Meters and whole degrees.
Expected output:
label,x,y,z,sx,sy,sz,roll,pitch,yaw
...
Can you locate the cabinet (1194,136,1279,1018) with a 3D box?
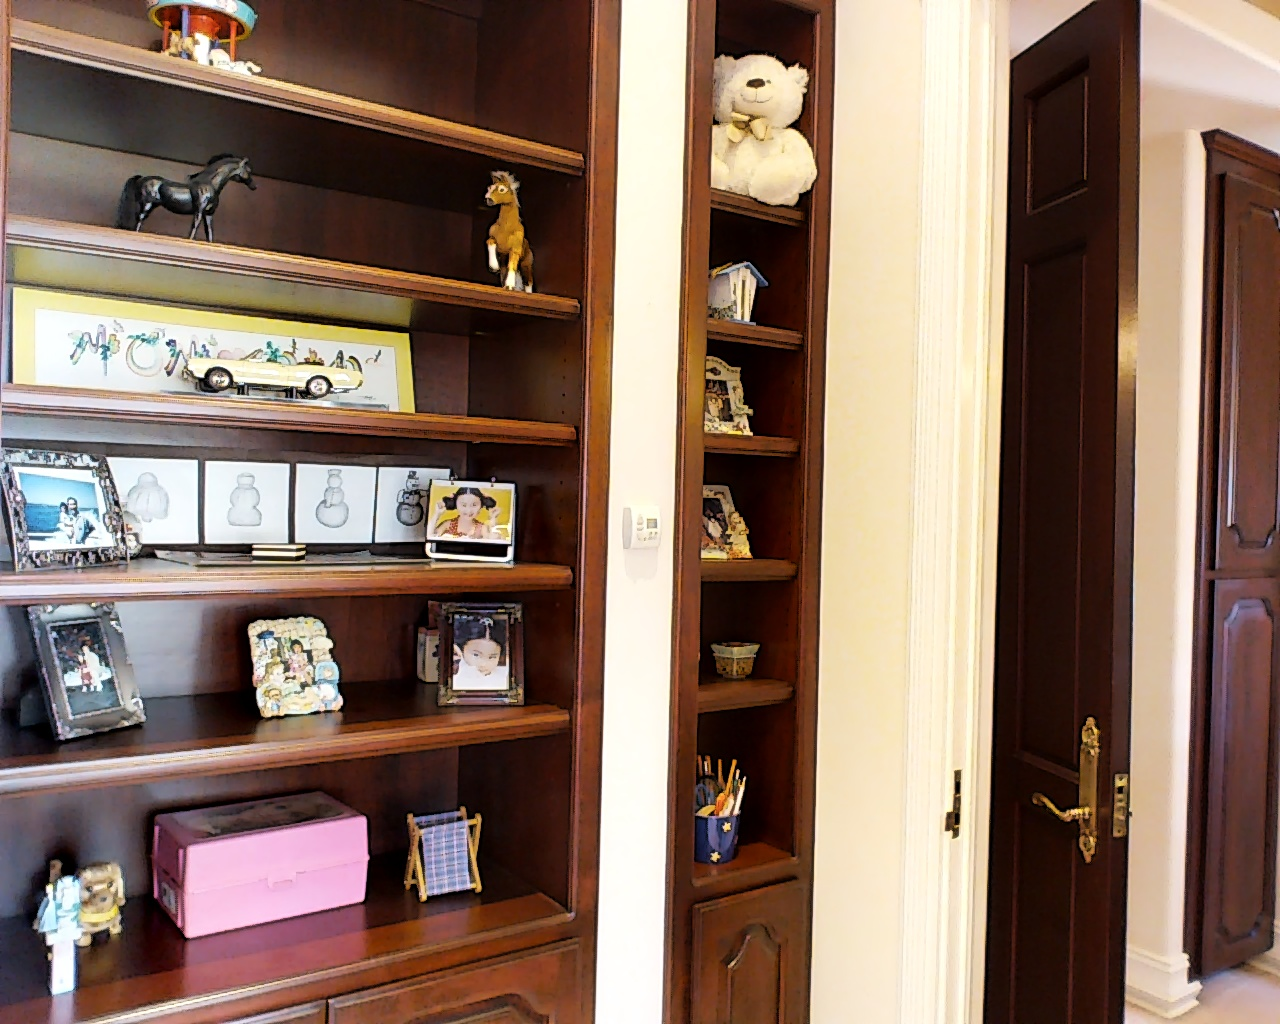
label,x,y,z,sx,sy,sz,roll,pitch,yaw
cabinet,1.870,0.190,3.220,0.560,2.500,0.060,1,0,-35
